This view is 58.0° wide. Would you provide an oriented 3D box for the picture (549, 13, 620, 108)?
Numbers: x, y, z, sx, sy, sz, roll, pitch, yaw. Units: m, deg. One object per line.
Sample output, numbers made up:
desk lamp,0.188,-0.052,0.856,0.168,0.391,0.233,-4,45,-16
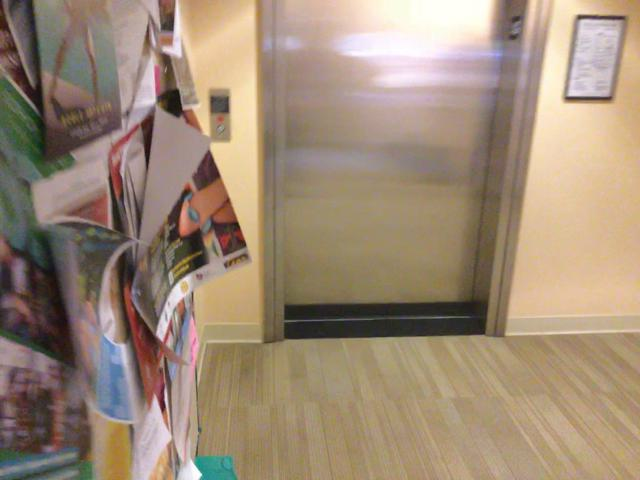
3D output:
picture,1.140,-0.770,2.490,0.250,0.360,0.090,-7,7,-5
